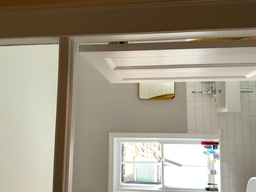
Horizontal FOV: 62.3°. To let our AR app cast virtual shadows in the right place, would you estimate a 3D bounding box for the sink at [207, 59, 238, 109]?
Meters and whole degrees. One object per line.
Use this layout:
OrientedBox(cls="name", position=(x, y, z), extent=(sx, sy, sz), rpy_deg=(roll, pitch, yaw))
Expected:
OrientedBox(cls="sink", position=(1.150, -0.120, 2.630), extent=(0.500, 0.190, 0.540), rpy_deg=(45, -135, -81))
